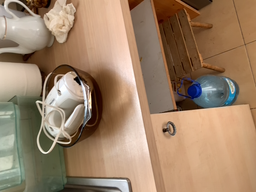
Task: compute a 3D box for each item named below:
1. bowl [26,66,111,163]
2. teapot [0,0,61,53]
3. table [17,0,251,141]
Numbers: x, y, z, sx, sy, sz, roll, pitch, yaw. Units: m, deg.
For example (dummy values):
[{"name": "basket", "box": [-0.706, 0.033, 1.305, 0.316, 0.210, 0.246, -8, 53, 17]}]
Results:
[{"name": "bowl", "box": [-0.180, 0.060, 0.600, 0.220, 0.110, 0.210, -24, 74, 42]}, {"name": "teapot", "box": [-0.350, -0.230, 0.700, 0.120, 0.200, 0.100, -27, 72, 42]}, {"name": "table", "box": [0.050, -0.170, 1.030, 0.640, 0.850, 0.580, -19, 77, 43]}]
